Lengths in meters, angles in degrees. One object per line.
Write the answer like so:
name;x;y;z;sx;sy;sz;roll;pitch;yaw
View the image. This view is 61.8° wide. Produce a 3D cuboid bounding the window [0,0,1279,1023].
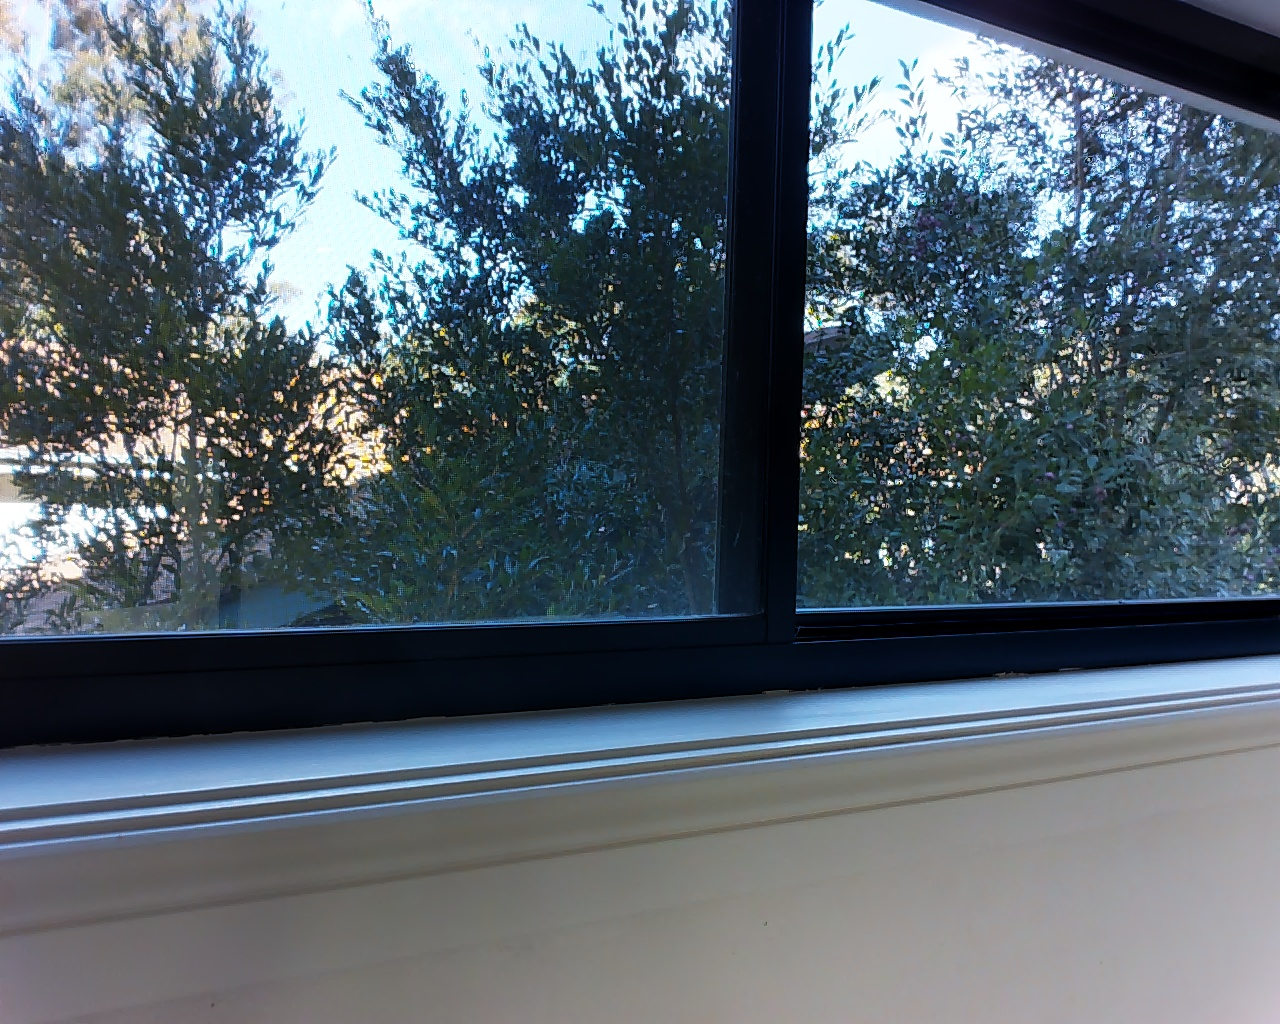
window;0.600;-0.130;1.110;2.599;0.850;0.440;2;0;-29
